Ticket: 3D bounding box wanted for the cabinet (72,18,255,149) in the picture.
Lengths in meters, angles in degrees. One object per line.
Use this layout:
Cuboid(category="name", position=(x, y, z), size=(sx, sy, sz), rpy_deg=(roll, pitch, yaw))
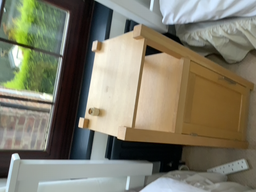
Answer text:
Cuboid(category="cabinet", position=(0.230, 0.020, 1.000), size=(0.340, 0.840, 0.370), rpy_deg=(1, 81, 52))
